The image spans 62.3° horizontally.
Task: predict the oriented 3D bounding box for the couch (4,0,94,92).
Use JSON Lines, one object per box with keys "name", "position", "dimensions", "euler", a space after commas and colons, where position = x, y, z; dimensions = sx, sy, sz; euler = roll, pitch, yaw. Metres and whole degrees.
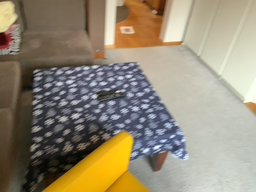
{"name": "couch", "position": [-0.840, -0.770, 2.410], "dimensions": [0.720, 1.020, 0.940], "euler": [-7, 41, -18]}
